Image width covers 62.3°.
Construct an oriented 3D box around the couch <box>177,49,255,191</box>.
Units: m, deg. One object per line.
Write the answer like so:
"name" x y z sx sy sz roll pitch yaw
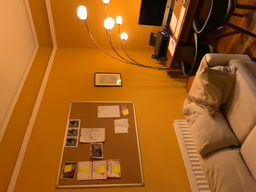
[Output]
"couch" 1.130 0.390 2.010 0.830 0.760 1.670 97 170 -45
